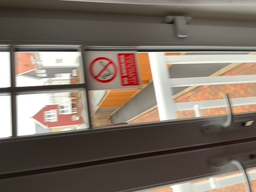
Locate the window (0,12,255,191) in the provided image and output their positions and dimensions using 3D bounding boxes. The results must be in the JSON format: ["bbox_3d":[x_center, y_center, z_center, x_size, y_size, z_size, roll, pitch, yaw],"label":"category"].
[{"bbox_3d":[0.340,0.180,0.850,0.110,2.160,1.030,133,131,-66],"label":"window"}]
